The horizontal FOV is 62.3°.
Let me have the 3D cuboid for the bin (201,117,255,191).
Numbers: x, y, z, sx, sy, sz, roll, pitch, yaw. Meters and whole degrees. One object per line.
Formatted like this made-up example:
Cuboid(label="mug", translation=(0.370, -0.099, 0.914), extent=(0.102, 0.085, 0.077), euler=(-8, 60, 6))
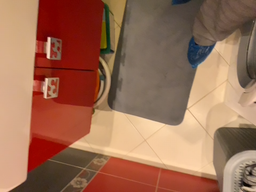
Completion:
Cuboid(label="bin", translation=(0.550, 0.320, 0.890), extent=(0.370, 0.470, 0.310), euler=(10, 98, 12))
